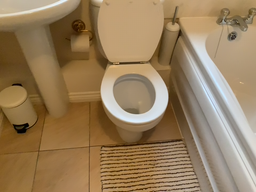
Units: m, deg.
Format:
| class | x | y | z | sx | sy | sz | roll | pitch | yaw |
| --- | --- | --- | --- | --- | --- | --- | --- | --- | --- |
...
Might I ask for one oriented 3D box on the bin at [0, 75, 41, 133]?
| class | x | y | z | sx | sy | sz | roll | pitch | yaw |
| --- | --- | --- | --- | --- | --- | --- | --- | --- | --- |
| bin | -0.680 | 0.050 | 1.320 | 0.190 | 0.260 | 0.220 | -7 | 49 | -11 |
